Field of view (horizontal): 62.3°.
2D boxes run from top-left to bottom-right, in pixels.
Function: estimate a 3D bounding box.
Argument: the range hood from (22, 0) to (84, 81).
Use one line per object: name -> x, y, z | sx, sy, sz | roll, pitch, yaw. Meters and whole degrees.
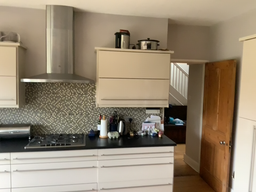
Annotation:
range hood -> -0.890, -0.700, 2.610 | 0.640, 1.000, 0.420 | 1, 5, -7
